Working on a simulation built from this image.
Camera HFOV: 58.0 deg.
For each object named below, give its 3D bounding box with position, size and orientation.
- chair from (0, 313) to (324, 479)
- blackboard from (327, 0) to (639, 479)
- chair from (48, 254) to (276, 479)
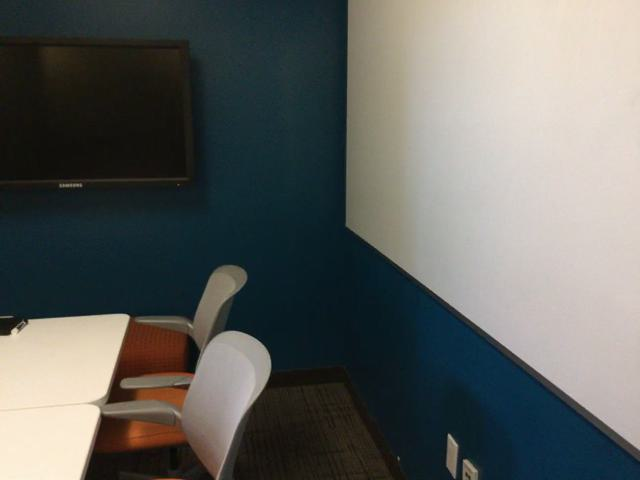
[{"bbox_3d":[-0.440,0.750,1.430,0.660,0.950,0.630,-1,11,-22],"label":"chair"},{"bbox_3d":[0.350,-0.260,1.670,0.120,1.160,2.610,-1,10,-11],"label":"blackboard"},{"bbox_3d":[-0.580,0.590,2.030,0.640,0.950,0.630,-2,11,-24],"label":"chair"}]
